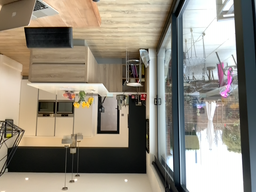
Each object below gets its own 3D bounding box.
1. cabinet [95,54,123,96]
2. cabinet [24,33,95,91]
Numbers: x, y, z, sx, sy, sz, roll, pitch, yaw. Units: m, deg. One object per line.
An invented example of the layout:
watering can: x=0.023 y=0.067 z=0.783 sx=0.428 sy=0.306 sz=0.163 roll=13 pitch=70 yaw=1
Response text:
cabinet: x=-0.470 y=-0.520 z=5.580 sx=0.650 sy=0.940 sz=0.890 roll=0 pitch=174 yaw=-1
cabinet: x=-1.340 y=-0.640 z=4.510 sx=1.090 sy=0.920 sz=1.260 roll=0 pitch=174 yaw=0
